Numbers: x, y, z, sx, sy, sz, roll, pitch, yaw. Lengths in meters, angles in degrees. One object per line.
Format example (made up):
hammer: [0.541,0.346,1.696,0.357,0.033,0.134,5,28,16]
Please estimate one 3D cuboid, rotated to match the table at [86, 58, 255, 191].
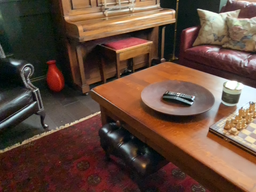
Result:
table: [0.540,0.310,1.180,0.780,0.510,1.590,-23,35,-33]
